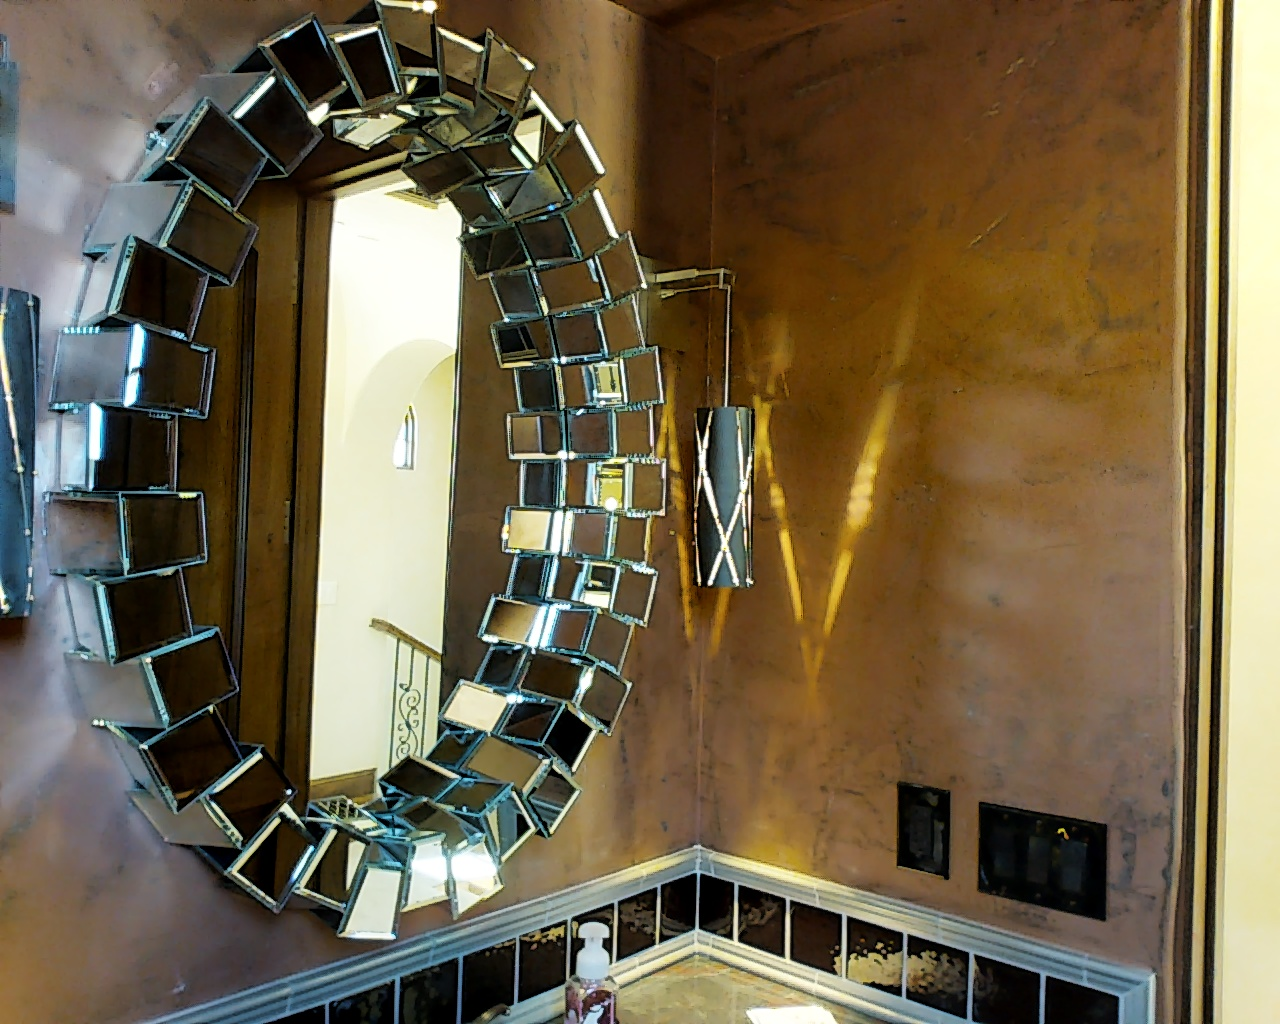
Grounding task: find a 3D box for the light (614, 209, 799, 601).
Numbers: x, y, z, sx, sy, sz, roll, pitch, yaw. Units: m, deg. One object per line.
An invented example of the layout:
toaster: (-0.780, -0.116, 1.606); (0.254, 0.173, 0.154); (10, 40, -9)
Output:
light: (0.100, -0.150, 1.630); (0.220, 0.550, 0.150); (1, 0, 42)
